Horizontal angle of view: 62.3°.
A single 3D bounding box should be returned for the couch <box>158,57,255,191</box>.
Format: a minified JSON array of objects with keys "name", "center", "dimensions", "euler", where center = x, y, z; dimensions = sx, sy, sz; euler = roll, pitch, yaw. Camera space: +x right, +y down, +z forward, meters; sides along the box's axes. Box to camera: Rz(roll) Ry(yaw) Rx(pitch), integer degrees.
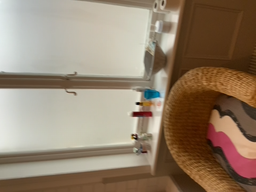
[{"name":"couch","center":[0.760,0.240,1.380],"dimensions":[0.740,0.770,0.800],"euler":[-129,42,-63]}]
